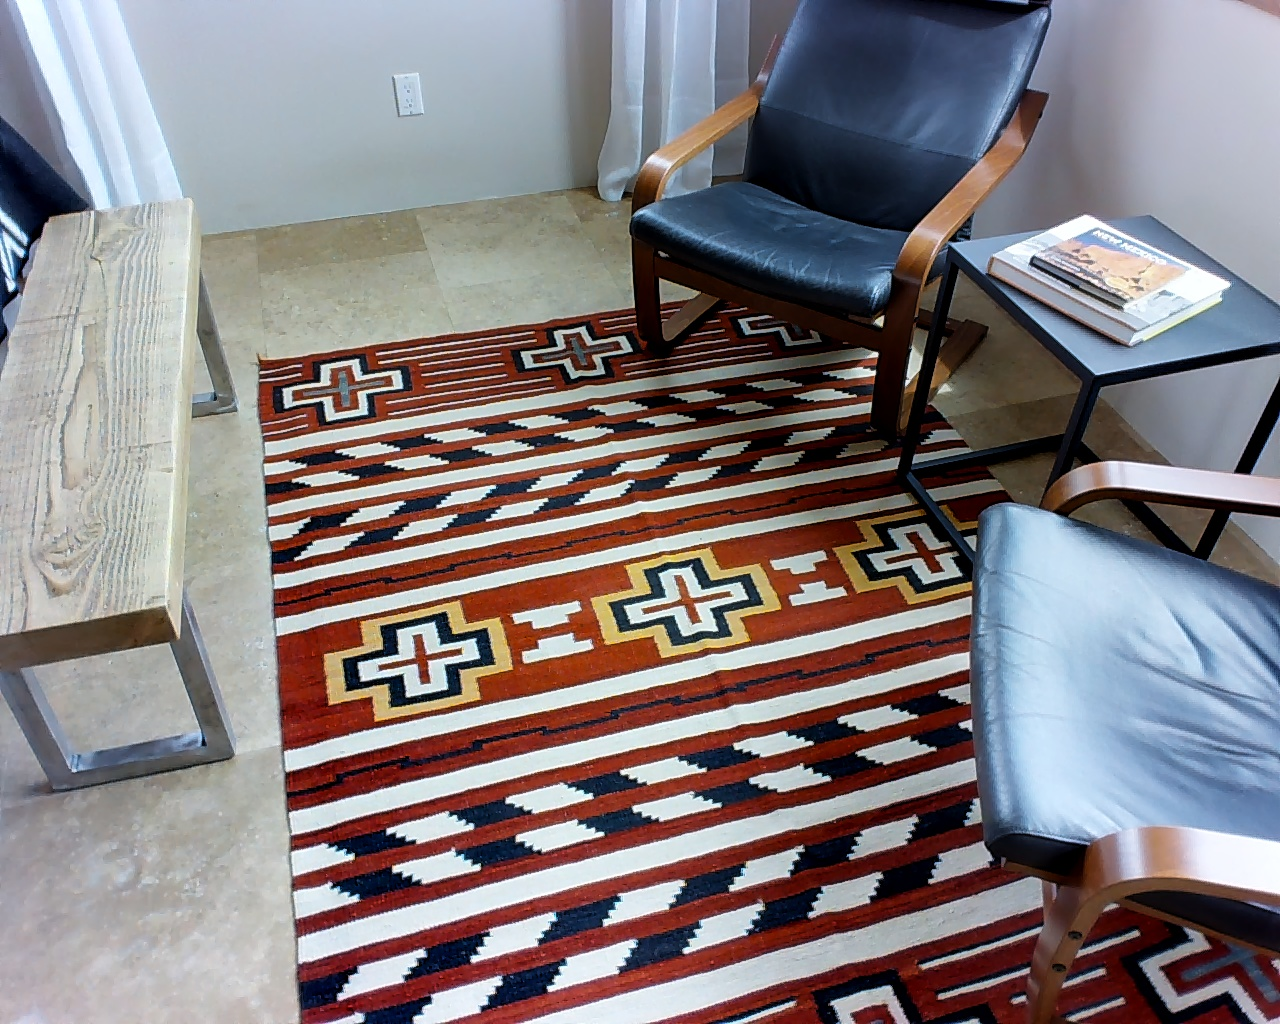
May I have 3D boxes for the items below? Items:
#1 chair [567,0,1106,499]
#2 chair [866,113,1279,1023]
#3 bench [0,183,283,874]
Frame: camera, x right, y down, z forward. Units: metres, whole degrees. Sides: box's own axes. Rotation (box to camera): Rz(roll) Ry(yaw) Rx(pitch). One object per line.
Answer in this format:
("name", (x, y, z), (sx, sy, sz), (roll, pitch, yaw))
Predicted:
("chair", (0.420, -0.770, 2.330), (0.770, 0.970, 0.860), (24, 47, 24))
("chair", (0.840, 0.180, 1.280), (0.930, 0.950, 0.740), (10, 43, 10))
("bench", (-0.920, -0.080, 1.920), (0.360, 0.460, 1.280), (-12, 43, -13))
